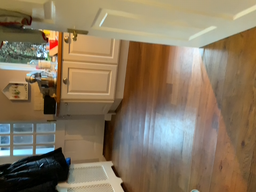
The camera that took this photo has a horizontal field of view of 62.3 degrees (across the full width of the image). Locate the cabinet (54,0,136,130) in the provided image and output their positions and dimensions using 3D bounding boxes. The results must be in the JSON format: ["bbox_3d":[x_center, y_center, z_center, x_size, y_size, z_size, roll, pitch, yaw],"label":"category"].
[{"bbox_3d":[-0.520,-0.600,2.910,0.670,0.900,1.980,-136,51,-64],"label":"cabinet"}]

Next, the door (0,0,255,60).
[{"bbox_3d":[-0.270,-0.390,0.730,0.990,2.050,0.090,159,110,-69],"label":"door"}]

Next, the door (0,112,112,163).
[{"bbox_3d":[-1.350,0.690,3.630,0.040,2.170,0.810,-159,71,-69],"label":"door"}]
